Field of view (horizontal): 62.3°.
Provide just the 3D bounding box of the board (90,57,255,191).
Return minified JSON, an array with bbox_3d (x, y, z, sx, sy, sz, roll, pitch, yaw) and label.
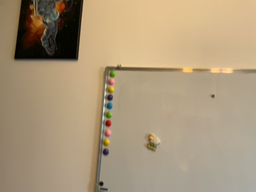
[{"bbox_3d":[0.300,0.180,0.890,0.910,0.670,0.050,4,-4,14],"label":"board"}]
